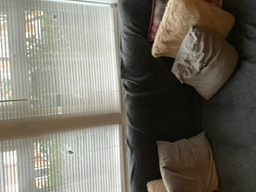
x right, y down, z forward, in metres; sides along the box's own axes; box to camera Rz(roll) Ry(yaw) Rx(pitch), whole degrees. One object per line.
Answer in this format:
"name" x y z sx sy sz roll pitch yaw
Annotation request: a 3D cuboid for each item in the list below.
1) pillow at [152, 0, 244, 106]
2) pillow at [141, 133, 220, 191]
"pillow" 0.410 -0.340 1.320 0.390 0.330 0.770 178 88 -66
"pillow" 0.360 0.600 1.410 0.280 0.440 0.650 -9 83 52
